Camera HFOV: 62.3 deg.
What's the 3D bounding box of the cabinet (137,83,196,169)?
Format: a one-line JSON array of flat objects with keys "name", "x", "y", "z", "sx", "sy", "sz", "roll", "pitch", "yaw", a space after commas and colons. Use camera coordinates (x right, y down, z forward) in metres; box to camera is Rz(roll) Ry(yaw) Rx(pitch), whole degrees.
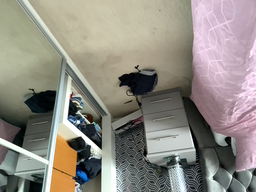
[{"name": "cabinet", "x": 0.360, "y": 0.290, "z": 2.000, "sx": 0.400, "sy": 0.630, "sz": 0.430, "roll": -12, "pitch": 147, "yaw": 13}]
